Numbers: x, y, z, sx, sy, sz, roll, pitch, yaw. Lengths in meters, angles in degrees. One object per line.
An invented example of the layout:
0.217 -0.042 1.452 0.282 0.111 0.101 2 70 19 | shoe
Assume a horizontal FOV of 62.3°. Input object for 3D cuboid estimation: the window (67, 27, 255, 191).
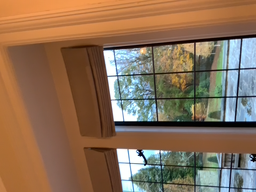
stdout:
0.550 0.640 1.590 0.170 1.600 2.150 -63 -31 -64 | window
